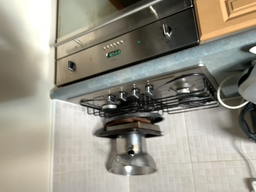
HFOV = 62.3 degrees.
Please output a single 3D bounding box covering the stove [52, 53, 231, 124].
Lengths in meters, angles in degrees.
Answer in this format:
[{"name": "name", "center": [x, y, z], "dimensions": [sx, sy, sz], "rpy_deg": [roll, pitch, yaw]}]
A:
[{"name": "stove", "center": [0.100, 0.030, 0.990], "dimensions": [0.630, 0.060, 0.590], "rpy_deg": [-14, 162, 28]}]
